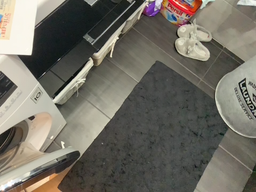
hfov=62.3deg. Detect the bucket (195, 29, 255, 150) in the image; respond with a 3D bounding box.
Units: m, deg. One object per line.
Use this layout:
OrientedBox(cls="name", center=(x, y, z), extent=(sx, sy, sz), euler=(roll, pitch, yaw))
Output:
OrientedBox(cls="bucket", center=(0.850, -0.050, 1.190), extent=(0.550, 0.560, 0.520), euler=(37, 72, 3))
